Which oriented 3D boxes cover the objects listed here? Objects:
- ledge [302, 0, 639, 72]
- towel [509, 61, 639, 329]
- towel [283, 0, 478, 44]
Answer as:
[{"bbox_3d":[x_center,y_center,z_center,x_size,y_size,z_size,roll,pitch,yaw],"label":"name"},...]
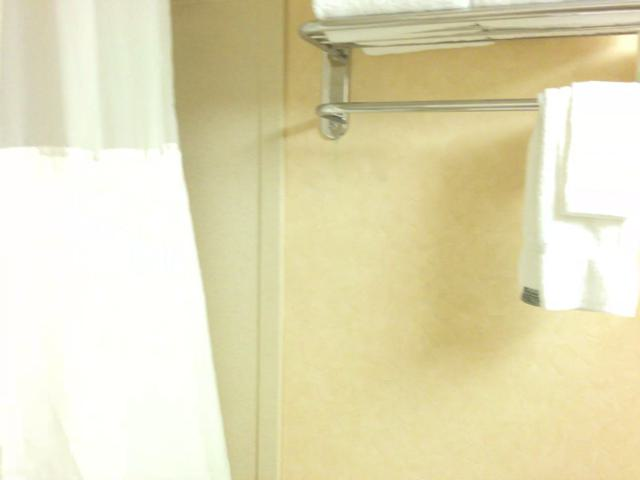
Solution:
[{"bbox_3d":[0.280,-0.330,0.930,0.560,0.050,0.260,4,7,21],"label":"ledge"},{"bbox_3d":[0.400,-0.070,0.890,0.180,0.370,0.130,4,7,21],"label":"towel"},{"bbox_3d":[0.090,-0.370,0.890,0.290,0.100,0.070,4,7,21],"label":"towel"}]
